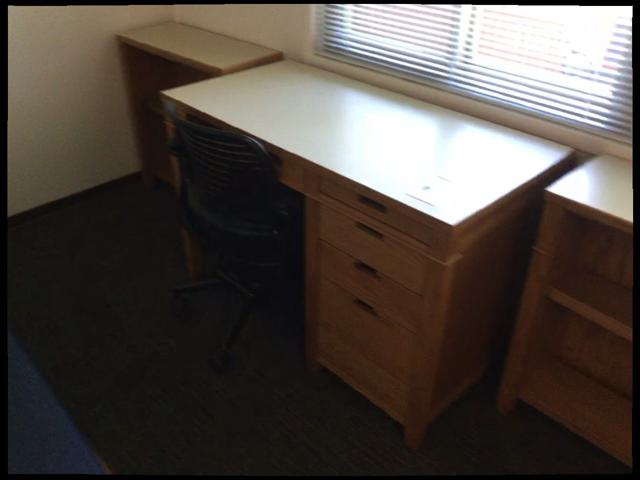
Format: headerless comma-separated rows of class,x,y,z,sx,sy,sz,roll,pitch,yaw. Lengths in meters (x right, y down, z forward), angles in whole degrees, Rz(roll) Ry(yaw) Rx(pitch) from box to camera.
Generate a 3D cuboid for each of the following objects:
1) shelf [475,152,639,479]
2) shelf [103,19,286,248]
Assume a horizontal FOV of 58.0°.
shelf,0.898,0.311,1.430,0.320,0.761,0.849,-27,43,-36
shelf,-0.559,-0.511,2.620,0.350,0.761,0.800,-27,43,-36
